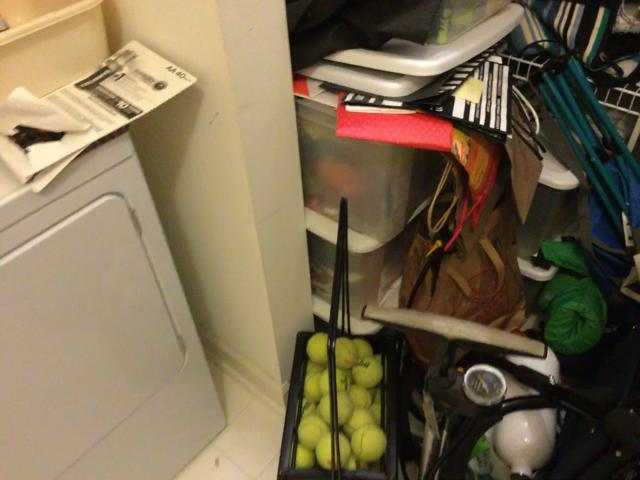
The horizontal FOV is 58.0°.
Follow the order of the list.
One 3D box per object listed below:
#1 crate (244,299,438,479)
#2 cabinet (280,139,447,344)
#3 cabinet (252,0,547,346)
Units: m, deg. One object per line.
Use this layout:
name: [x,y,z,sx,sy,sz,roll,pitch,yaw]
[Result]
crate: [0.070,0.410,1.250,0.330,0.360,0.400,4,46,8]
cabinet: [0.100,0.000,1.290,0.220,0.290,0.280,28,54,28]
cabinet: [0.150,-0.140,1.100,0.300,0.450,0.410,28,54,28]
